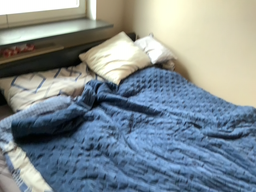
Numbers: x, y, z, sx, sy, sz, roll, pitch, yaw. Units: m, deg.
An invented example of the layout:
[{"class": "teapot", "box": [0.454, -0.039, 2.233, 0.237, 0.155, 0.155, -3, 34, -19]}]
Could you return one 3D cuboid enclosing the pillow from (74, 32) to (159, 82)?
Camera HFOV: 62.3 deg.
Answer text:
[{"class": "pillow", "box": [-0.100, -0.390, 1.950, 0.590, 0.190, 0.480, -25, 44, -39]}]
